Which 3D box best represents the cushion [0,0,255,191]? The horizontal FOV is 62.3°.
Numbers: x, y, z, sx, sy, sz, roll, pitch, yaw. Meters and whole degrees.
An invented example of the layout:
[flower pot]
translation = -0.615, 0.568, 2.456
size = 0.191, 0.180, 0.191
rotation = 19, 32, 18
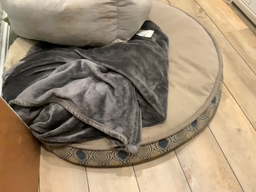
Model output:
[cushion]
translation = -0.050, -0.330, 0.990
size = 1.050, 0.430, 1.200
rotation = -11, 56, -6
